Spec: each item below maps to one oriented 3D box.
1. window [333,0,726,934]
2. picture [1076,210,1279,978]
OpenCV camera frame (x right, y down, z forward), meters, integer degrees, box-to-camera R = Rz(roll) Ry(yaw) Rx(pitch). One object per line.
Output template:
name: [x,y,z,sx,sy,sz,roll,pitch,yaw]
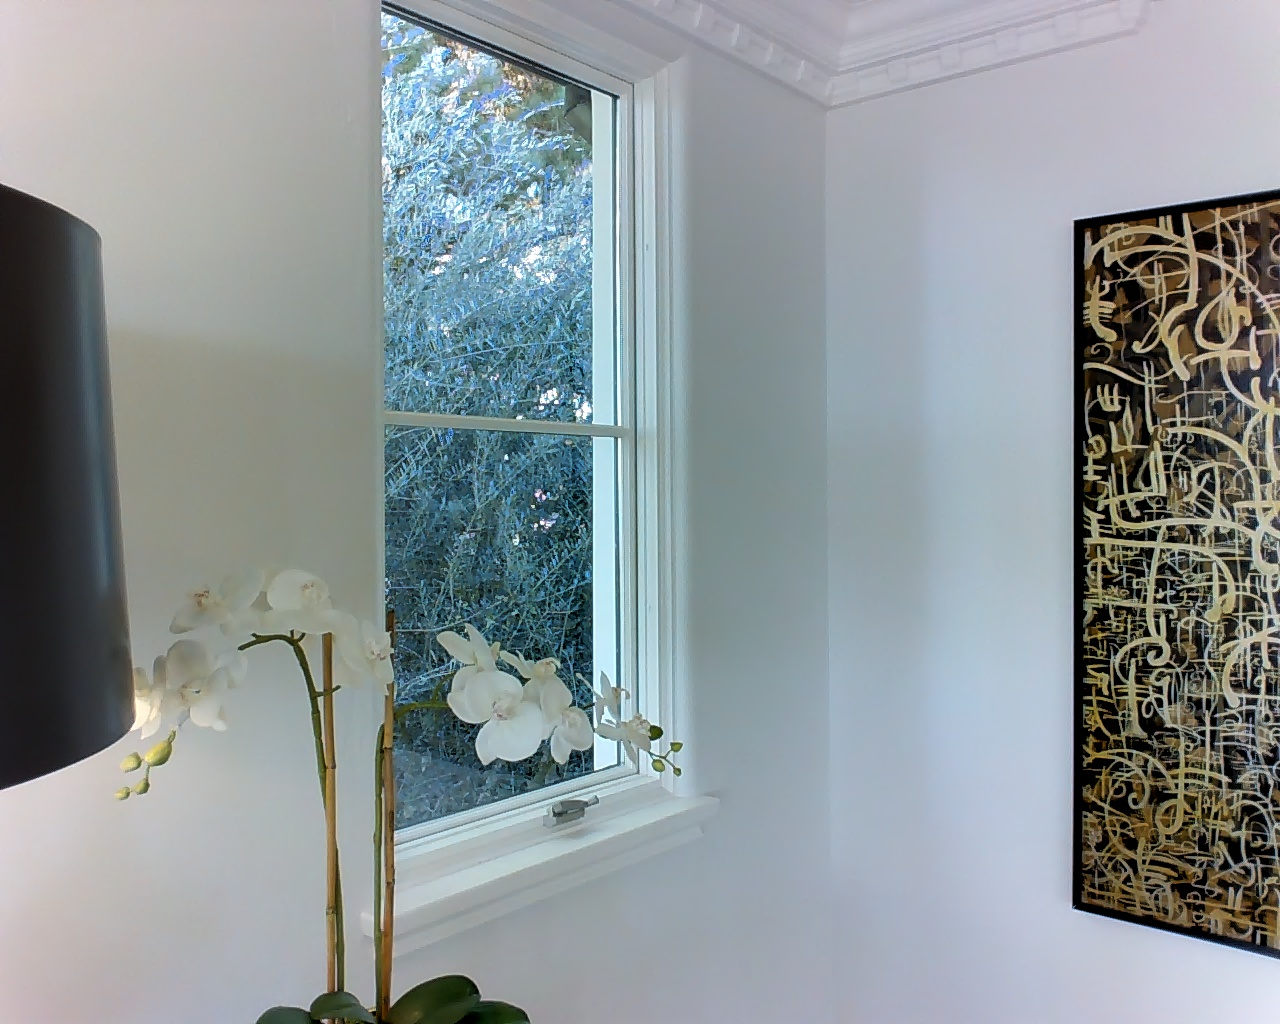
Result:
window: [-0.150,-0.140,1.920,0.150,1.510,0.810,0,1,41]
picture: [1.300,0.150,1.820,1.080,1.380,0.040,0,1,41]
